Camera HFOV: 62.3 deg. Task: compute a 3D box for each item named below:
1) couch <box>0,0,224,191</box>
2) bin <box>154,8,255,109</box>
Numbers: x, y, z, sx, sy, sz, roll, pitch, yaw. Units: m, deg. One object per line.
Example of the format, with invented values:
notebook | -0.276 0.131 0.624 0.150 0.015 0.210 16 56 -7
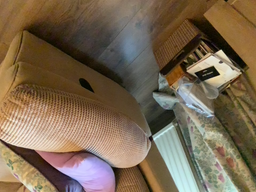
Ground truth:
couch | -0.540 0.600 1.370 0.960 1.030 1.810 24 126 -33
bin | 0.440 -0.210 1.260 0.420 0.370 0.270 25 126 -33
